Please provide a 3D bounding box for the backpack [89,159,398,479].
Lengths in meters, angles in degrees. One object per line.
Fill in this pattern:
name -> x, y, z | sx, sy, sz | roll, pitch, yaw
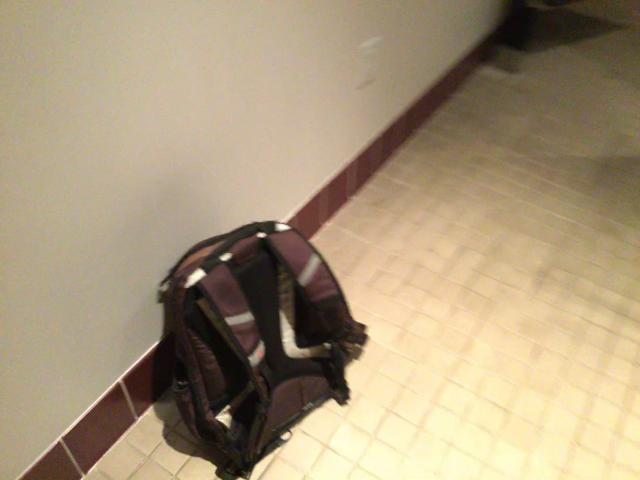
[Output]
backpack -> -0.130, 0.180, 1.220 | 0.360, 0.450, 0.440 | 32, 53, 31
